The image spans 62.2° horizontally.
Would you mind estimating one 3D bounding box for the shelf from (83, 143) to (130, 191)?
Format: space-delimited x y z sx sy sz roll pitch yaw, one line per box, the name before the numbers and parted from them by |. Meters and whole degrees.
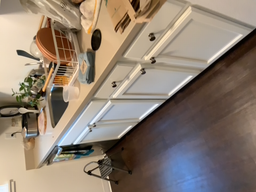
shelf | -0.290 0.900 2.690 0.460 0.340 0.400 -54 47 40
